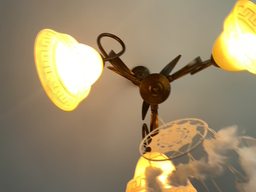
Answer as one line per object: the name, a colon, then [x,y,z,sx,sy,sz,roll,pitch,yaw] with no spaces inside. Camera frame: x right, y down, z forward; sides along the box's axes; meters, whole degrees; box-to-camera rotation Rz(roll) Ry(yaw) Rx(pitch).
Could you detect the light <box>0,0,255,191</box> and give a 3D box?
light: [0.100,-0.040,0.600,0.940,0.560,0.650,44,-173,6]
